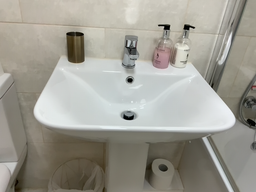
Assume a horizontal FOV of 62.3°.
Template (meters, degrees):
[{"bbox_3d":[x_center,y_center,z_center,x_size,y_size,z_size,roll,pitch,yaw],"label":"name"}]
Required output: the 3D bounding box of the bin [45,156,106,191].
[{"bbox_3d":[-0.260,0.520,1.120,0.280,0.280,0.270,1,33,-8],"label":"bin"}]
